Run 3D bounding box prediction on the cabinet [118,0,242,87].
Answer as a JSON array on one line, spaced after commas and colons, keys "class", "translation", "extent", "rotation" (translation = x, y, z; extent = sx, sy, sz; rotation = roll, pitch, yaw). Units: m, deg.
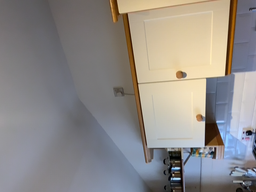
[{"class": "cabinet", "translation": [0.320, -0.380, 1.390], "extent": [0.330, 0.650, 0.490], "rotation": [-77, -20, -59]}]
